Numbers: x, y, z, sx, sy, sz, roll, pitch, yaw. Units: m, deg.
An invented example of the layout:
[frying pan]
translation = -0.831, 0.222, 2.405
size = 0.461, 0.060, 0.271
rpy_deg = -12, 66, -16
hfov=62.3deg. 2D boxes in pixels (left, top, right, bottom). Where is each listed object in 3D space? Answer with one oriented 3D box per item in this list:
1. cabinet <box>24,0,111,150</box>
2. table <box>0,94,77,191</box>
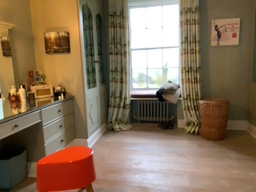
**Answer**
[cabinet]
translation = -0.810, -0.700, 3.170
size = 0.710, 2.680, 1.120
rpy_deg = 0, 9, 10
[table]
translation = -1.140, 0.510, 1.780
size = 0.540, 0.740, 2.080
rpy_deg = 0, 9, 10
